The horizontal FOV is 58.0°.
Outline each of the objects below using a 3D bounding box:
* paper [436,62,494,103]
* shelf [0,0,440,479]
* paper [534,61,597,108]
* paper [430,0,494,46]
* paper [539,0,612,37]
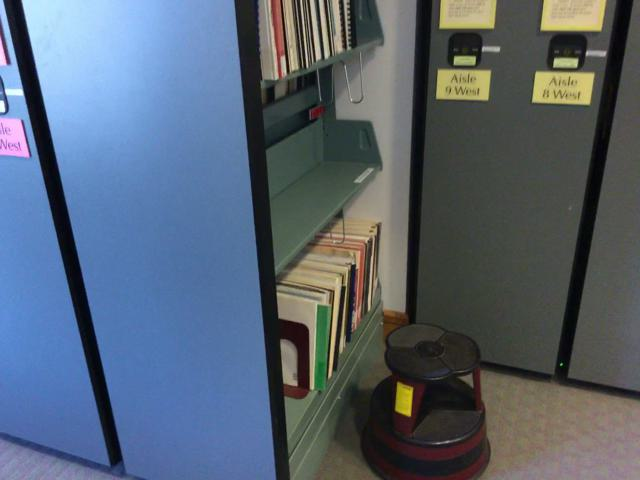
[{"bbox_3d":[0.450,-0.490,1.800,0.170,0.110,0.040,3,22,22],"label":"paper"},{"bbox_3d":[-0.200,-0.550,1.540,0.800,2.550,1.040,3,22,22],"label":"shelf"},{"bbox_3d":[0.710,-0.450,1.680,0.160,0.120,0.040,3,22,22],"label":"paper"},{"bbox_3d":[0.420,-0.720,1.710,0.180,0.260,0.040,3,22,22],"label":"paper"},{"bbox_3d":[0.700,-0.700,1.580,0.180,0.260,0.040,3,22,22],"label":"paper"}]
